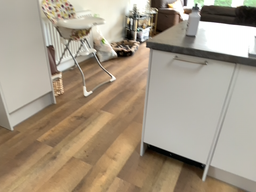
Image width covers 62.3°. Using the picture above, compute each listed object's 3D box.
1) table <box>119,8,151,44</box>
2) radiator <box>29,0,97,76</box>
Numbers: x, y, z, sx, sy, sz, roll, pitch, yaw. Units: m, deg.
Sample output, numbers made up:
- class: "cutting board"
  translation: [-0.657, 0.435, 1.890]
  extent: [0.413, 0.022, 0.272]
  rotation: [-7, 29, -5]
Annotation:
- class: "table"
  translation: [0.150, -1.510, 4.530]
  extent: [0.400, 0.600, 0.620]
  rotation: [17, 33, 24]
- class: "radiator"
  translation: [-0.810, -0.890, 2.970]
  extent: [0.100, 0.880, 1.110]
  rotation: [15, 32, 22]
